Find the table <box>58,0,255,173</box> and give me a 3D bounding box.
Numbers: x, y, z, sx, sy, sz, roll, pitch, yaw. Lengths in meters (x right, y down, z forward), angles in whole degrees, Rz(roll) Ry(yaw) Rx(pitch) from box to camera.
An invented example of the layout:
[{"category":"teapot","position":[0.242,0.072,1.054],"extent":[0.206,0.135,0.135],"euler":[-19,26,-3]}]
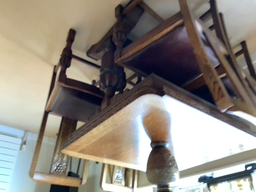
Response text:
[{"category":"table","position":[0.260,0.000,1.510],"extent":[1.110,0.760,0.790],"euler":[24,140,-33]}]
